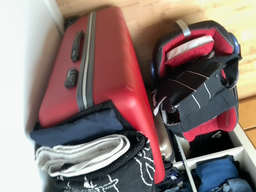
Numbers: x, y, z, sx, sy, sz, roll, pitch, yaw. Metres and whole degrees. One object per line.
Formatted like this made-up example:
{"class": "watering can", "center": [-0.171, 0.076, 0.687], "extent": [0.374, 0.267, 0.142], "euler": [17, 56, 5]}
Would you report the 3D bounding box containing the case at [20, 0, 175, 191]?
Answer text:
{"class": "case", "center": [-0.070, 0.000, 0.950], "extent": [0.300, 0.810, 0.540], "euler": [-16, 129, 6]}
